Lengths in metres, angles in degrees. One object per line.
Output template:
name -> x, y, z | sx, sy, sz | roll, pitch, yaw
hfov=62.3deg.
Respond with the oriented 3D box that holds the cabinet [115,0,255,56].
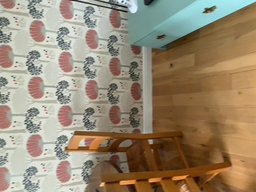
cabinet -> 0.390, -0.850, 1.870 | 1.400, 0.470, 0.630 | -8, 81, 62
